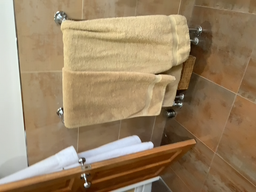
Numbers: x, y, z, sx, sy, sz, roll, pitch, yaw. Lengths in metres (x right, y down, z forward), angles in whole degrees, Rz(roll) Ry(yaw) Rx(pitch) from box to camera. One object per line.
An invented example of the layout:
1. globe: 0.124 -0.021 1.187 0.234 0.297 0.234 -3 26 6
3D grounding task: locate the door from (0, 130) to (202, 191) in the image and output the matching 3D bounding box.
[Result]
1. door: -0.470 0.600 1.410 0.110 2.070 0.660 66 147 32
